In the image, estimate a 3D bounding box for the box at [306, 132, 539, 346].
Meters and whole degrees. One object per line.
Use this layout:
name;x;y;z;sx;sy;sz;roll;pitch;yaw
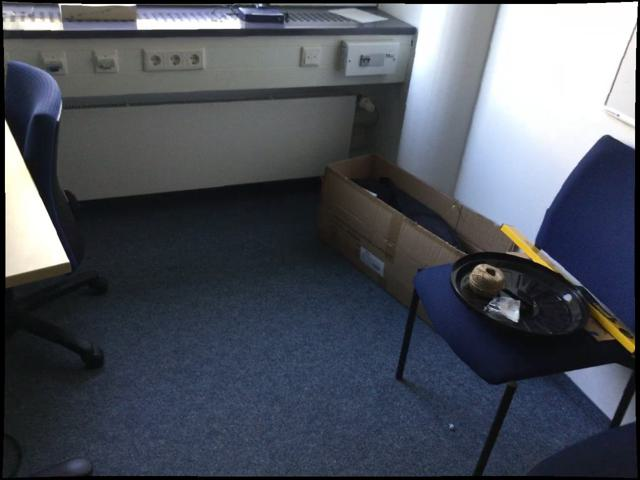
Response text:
box;0.340;-0.060;2.280;0.460;0.360;0.860;-10;38;-23
